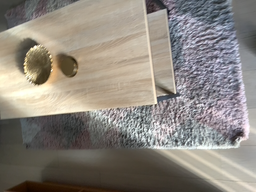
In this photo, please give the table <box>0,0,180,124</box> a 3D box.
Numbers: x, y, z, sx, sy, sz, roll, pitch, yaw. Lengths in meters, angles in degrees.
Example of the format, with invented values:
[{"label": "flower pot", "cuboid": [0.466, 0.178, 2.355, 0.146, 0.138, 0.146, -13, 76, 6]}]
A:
[{"label": "table", "cuboid": [-0.290, -0.160, 1.250, 1.030, 0.420, 0.510, -8, 90, 27]}]
